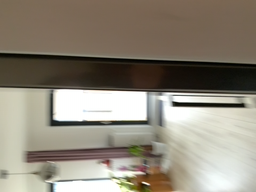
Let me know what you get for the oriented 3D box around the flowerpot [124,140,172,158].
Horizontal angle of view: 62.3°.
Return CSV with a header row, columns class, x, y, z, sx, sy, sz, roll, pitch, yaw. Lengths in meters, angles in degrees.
class,x,y,z,sx,sy,sz,roll,pitch,yaw
flowerpot,0.370,1.020,4.130,0.440,0.820,0.270,136,134,-76
